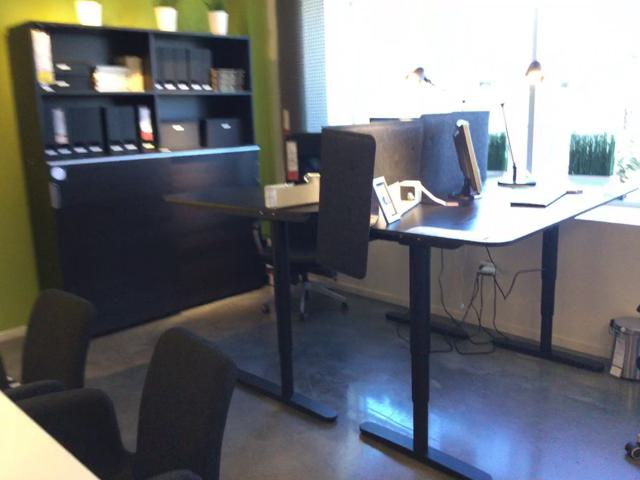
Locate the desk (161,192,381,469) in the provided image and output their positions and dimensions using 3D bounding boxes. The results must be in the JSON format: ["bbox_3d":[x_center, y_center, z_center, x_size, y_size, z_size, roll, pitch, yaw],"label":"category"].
[{"bbox_3d":[-0.260,0.320,2.770,0.500,1.060,1.010,-8,10,-42],"label":"desk"}]

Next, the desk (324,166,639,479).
[{"bbox_3d":[0.800,0.300,2.510,1.350,1.200,0.810,-8,10,-42],"label":"desk"}]
